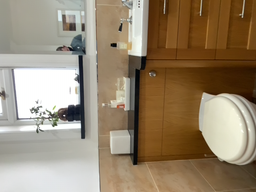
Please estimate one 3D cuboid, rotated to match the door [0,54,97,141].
[{"bbox_3d":[-0.800,0.000,1.690,0.260,1.080,0.640,-133,43,-77],"label":"door"}]
